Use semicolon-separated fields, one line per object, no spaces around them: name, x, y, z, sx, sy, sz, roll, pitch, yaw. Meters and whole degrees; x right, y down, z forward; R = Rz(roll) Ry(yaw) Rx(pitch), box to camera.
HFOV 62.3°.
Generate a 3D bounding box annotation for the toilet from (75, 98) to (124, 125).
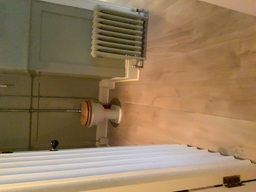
toilet;-0.450;0.210;3.150;0.760;0.520;0.330;180;92;-67
